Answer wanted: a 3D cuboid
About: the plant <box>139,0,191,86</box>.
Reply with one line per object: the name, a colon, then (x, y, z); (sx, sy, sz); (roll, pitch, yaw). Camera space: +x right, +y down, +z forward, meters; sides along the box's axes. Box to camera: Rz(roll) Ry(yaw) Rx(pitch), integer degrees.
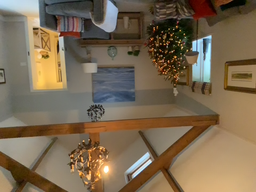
plant: (0.850, -1.220, 5.090); (0.920, 1.870, 0.940); (-3, -173, -10)
